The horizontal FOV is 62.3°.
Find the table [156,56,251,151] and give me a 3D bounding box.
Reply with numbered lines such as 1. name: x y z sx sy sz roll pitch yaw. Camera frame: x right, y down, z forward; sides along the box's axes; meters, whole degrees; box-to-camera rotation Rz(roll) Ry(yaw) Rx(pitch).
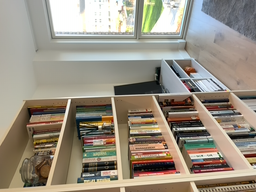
1. table: 0.830 -0.040 2.830 1.610 0.510 0.500 -104 14 -60
